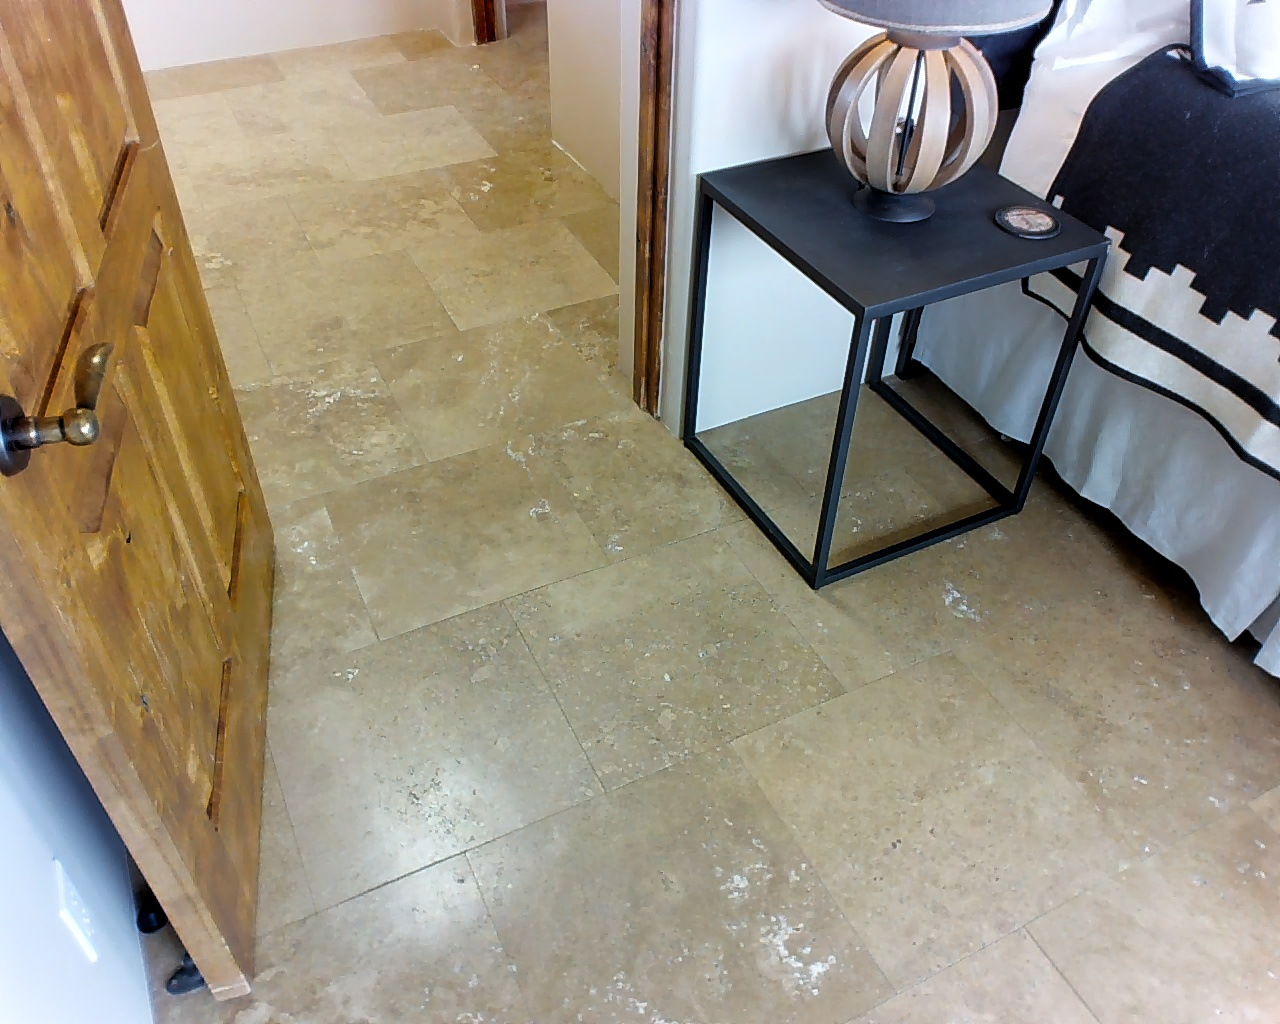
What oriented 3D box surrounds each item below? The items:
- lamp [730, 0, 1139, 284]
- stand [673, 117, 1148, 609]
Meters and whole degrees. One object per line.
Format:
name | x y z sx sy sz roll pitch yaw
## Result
lamp | 0.450 -0.760 1.680 0.420 0.590 0.410 -18 45 -21
stand | 0.450 -0.300 2.030 0.550 0.620 0.550 -18 46 -21
